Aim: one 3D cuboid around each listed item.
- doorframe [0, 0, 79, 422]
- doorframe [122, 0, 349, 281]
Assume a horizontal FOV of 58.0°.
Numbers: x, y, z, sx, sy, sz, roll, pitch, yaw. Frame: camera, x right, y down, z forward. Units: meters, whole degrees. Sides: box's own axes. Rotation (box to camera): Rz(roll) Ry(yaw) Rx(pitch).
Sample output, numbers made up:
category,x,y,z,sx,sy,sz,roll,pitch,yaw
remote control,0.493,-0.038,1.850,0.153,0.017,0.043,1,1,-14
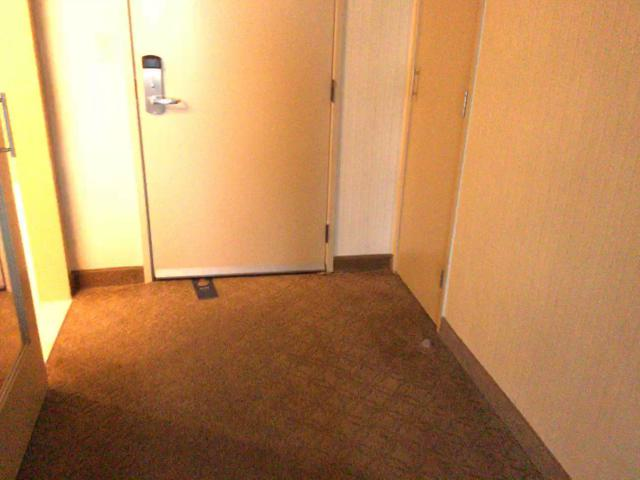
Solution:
category,x,y,z,sx,sy,sz,roll,pitch,yaw
doorframe,-1.210,-0.790,1.990,0.240,2.630,1.070,-4,22,-13
doorframe,-0.360,-0.980,2.620,1.000,2.450,0.060,-4,22,-13
